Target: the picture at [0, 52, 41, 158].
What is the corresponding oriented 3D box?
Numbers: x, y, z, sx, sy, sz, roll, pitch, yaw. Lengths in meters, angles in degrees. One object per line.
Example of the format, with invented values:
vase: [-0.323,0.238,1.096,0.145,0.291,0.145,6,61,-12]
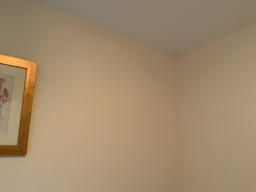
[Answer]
picture: [-0.540,0.030,0.890,0.290,0.440,0.020,9,-16,-34]
